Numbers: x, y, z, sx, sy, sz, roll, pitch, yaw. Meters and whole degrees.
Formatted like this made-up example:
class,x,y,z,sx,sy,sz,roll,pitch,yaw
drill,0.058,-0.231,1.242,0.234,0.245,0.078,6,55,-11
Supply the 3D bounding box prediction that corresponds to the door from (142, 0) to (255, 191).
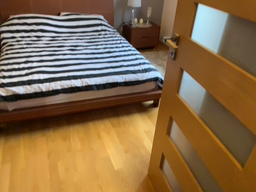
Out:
class,x,y,z,sx,sy,sz,roll,pitch,yaw
door,0.370,0.010,0.840,0.130,2.250,0.890,-5,34,-15
